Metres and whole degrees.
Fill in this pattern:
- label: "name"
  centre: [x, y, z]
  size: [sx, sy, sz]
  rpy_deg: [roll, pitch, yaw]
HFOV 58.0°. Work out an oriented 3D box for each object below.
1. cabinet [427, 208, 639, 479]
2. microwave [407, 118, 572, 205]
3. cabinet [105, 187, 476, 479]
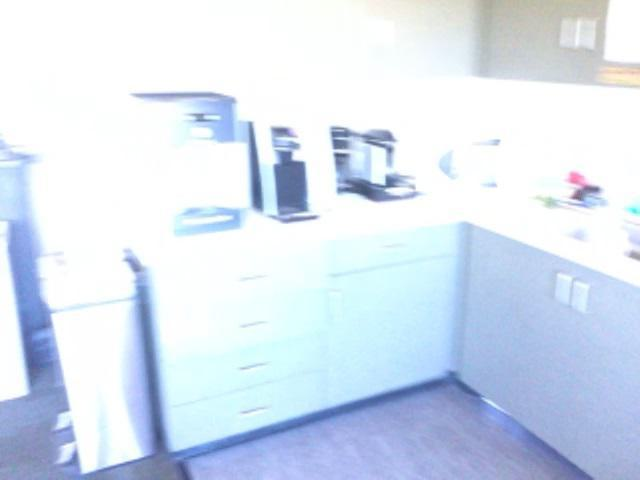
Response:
- label: "cabinet"
  centre: [1.050, 0.420, 2.060]
  size: [0.680, 0.770, 1.260]
  rpy_deg: [-8, 18, -25]
- label: "microwave"
  centre: [0.720, -0.360, 2.520]
  size: [0.620, 0.300, 0.430]
  rpy_deg: [4, 17, 15]
- label: "cabinet"
  centre: [-0.110, 0.310, 2.400]
  size: [1.320, 0.840, 0.640]
  rpy_deg: [-9, 18, -25]
